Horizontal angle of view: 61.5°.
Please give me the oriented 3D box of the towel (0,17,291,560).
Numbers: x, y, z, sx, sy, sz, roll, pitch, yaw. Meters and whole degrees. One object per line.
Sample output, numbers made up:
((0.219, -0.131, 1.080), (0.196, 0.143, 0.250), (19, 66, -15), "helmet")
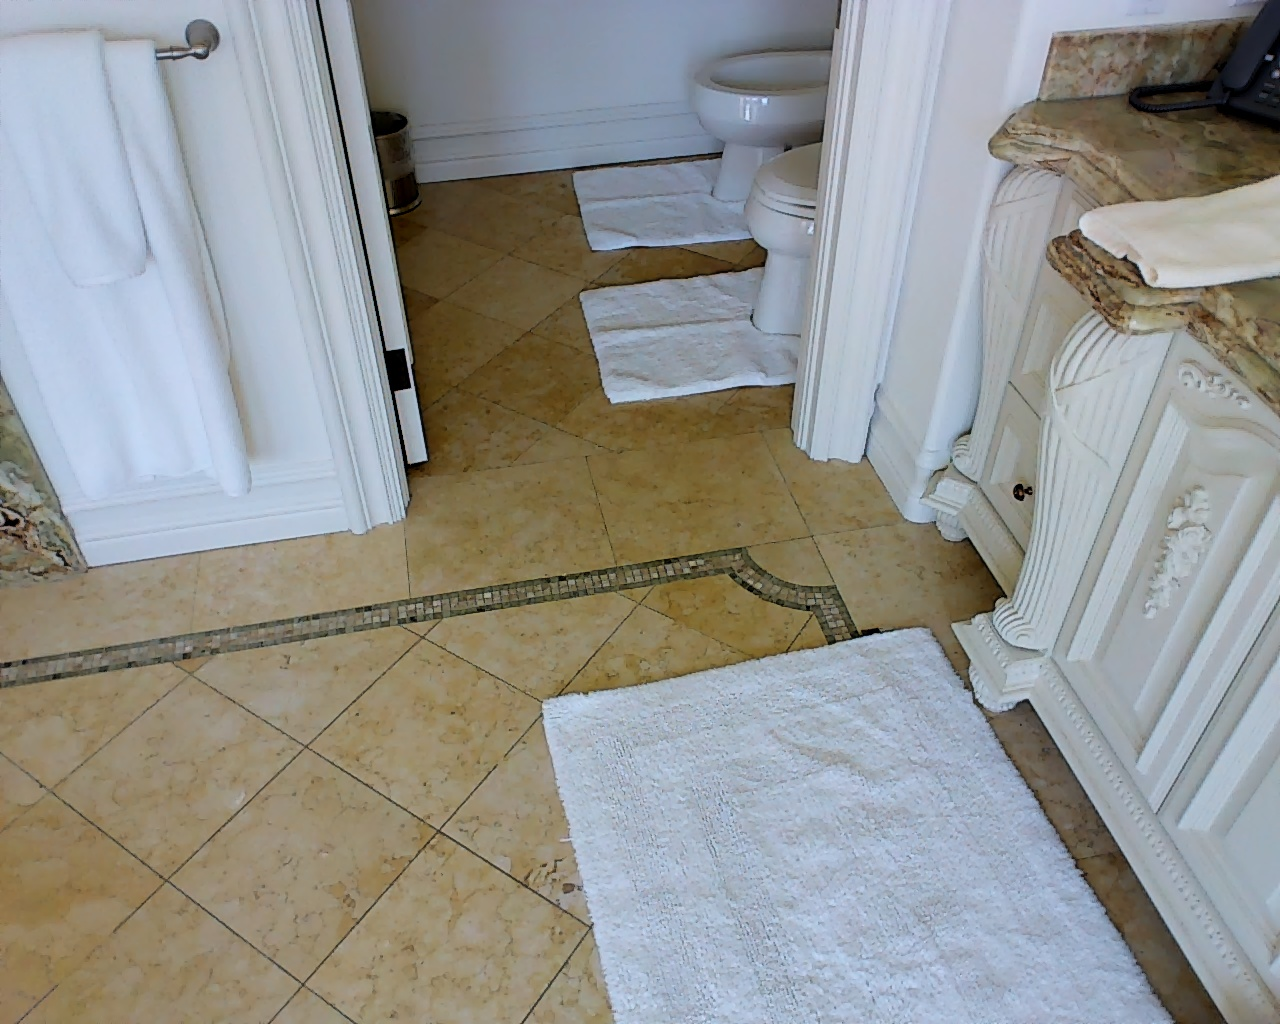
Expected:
((-0.870, -0.330, 1.820), (0.350, 0.880, 0.200), (-9, 43, -9), "towel")
